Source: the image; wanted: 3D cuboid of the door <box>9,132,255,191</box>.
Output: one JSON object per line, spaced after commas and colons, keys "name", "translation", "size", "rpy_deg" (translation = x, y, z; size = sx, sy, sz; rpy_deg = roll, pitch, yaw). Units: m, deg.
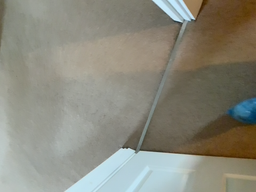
{"name": "door", "translation": [0.030, 0.390, 0.480], "size": [1.050, 1.660, 0.110], "rpy_deg": [-2, 97, 24]}
